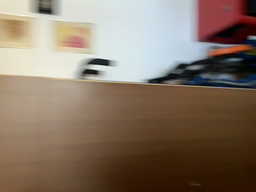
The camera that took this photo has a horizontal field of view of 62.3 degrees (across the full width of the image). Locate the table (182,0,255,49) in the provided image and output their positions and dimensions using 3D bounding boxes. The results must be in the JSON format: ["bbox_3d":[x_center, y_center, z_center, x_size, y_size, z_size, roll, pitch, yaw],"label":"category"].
[{"bbox_3d":[0.790,-0.750,1.820,0.510,0.430,0.530,175,96,-70],"label":"table"}]
